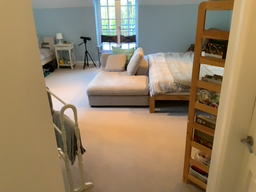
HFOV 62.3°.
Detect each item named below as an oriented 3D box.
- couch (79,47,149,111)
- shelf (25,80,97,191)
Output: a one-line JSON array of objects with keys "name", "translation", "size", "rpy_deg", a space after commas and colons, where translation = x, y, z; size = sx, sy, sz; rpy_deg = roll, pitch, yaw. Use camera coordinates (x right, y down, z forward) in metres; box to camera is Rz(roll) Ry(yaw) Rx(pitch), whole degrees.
[{"name": "couch", "translation": [-0.170, -0.440, 4.300], "size": [1.130, 0.810, 1.660], "rpy_deg": [0, 23, 4]}, {"name": "shelf", "translation": [-0.670, 0.400, 2.110], "size": [0.300, 0.910, 0.780], "rpy_deg": [-18, 28, -34]}]
